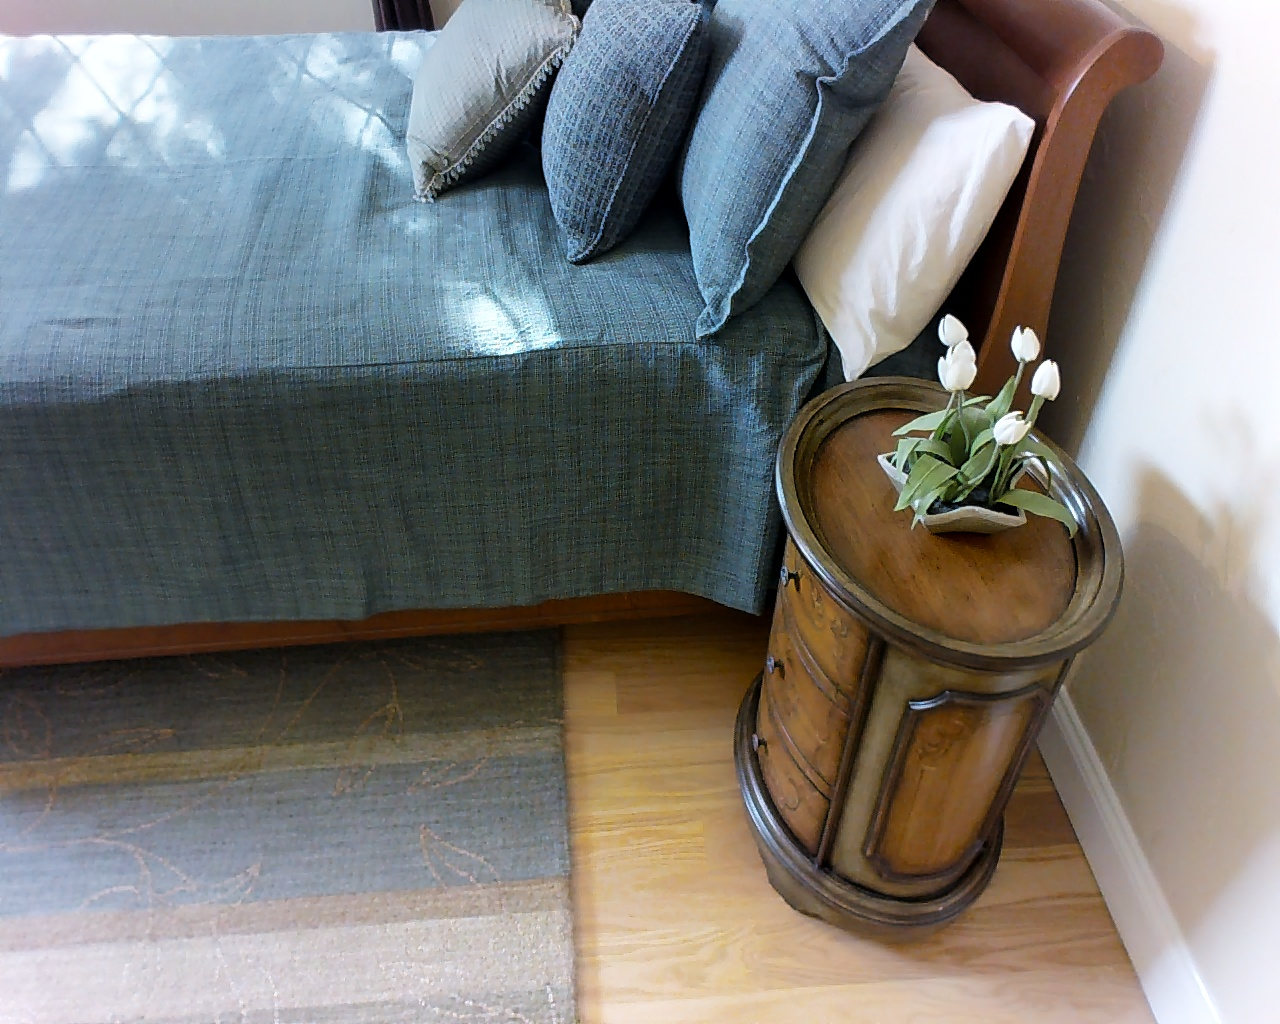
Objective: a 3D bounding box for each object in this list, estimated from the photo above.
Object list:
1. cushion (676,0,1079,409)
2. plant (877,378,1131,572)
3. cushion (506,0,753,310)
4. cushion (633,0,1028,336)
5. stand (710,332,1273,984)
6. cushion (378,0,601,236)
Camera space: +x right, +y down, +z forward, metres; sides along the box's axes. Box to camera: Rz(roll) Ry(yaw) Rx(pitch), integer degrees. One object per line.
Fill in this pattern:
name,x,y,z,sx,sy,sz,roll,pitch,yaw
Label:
cushion,0.330,-0.840,2.080,0.340,0.460,1.490,-3,43,-4
plant,0.440,-0.050,1.340,0.220,0.120,0.210,-4,43,-5
cushion,-0.050,-0.710,1.900,0.220,0.450,0.510,17,38,-21
cushion,0.240,-0.710,1.720,0.270,0.530,0.650,13,39,-18
stand,0.410,0.220,1.620,0.490,0.730,0.620,-3,43,-4
cushion,-0.290,-0.850,2.050,0.170,0.450,0.470,27,34,-27
